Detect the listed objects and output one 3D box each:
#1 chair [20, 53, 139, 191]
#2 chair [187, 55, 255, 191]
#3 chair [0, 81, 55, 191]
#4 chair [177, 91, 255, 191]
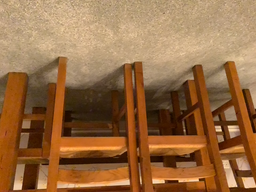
[{"bbox_3d":[-0.230,0.310,1.130,0.450,0.900,0.530,0,159,-9],"label":"chair"},{"bbox_3d":[0.710,0.280,1.220,0.420,0.880,0.490,0,159,-9],"label":"chair"},{"bbox_3d":[-0.700,0.400,1.280,0.400,0.890,0.390,2,158,-13],"label":"chair"},{"bbox_3d":[0.760,0.480,1.680,0.470,0.920,0.450,1,159,-12],"label":"chair"}]
